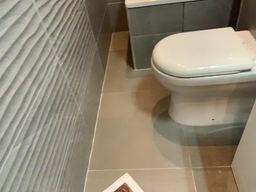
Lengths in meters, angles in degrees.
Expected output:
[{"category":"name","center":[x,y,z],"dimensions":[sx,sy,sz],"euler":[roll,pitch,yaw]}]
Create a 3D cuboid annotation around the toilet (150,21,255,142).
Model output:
[{"category":"toilet","center":[0.400,-0.070,1.170],"dimensions":[0.510,0.470,0.420],"euler":[-4,44,7]}]
